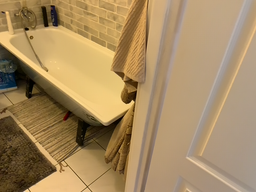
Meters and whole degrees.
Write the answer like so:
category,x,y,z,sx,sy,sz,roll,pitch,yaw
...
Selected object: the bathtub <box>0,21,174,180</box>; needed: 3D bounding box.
category,x,y,z,sx,sy,sz,roll,pitch,yaw
bathtub,-0.510,-0.140,1.990,1.670,0.550,0.680,33,44,32
